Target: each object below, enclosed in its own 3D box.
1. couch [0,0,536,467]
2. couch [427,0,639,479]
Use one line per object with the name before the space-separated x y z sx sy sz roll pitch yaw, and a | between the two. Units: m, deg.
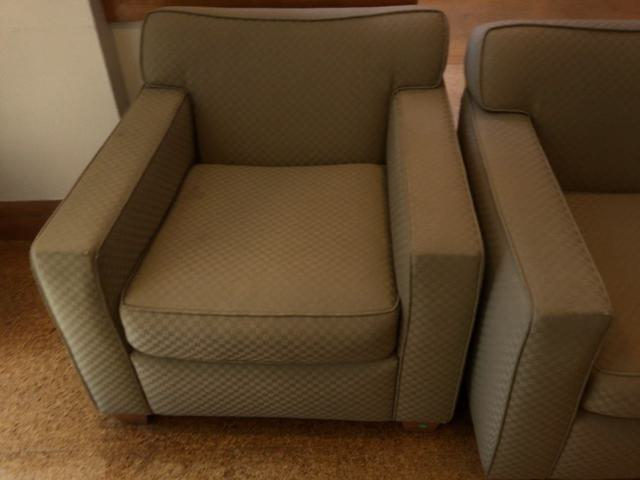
couch | -0.090 -0.090 1.440 0.930 0.780 0.890 1 39 7
couch | 0.760 -0.010 1.290 0.880 0.770 0.880 -2 38 3
